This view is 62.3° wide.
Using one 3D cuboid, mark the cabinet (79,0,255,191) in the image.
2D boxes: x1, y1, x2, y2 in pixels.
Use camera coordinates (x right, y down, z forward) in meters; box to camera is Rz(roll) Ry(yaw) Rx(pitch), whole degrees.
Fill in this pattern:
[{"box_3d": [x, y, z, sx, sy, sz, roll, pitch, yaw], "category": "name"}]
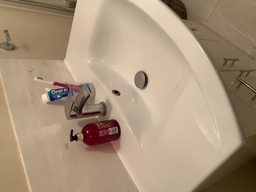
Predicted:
[{"box_3d": [0.310, -0.080, 1.060, 0.850, 0.760, 0.350, 52, 132, 34], "category": "cabinet"}]
